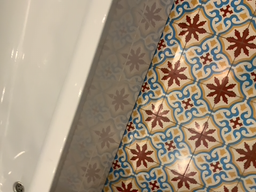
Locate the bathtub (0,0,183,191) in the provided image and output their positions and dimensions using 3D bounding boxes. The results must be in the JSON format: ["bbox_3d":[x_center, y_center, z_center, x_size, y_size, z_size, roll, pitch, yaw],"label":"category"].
[{"bbox_3d":[-0.340,-0.120,0.810,0.740,0.560,2.090,23,99,16],"label":"bathtub"}]
